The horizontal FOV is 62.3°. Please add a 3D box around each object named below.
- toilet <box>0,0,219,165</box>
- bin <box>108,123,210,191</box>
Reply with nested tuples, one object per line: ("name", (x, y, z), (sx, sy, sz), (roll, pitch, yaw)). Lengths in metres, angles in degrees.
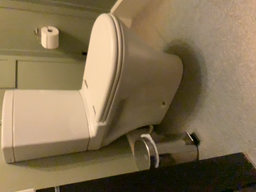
("toilet", (-0.150, -0.070, 1.060), (0.390, 0.840, 0.670), (-115, 34, -40))
("bin", (0.130, 0.320, 1.030), (0.250, 0.350, 0.250), (112, 146, -40))
